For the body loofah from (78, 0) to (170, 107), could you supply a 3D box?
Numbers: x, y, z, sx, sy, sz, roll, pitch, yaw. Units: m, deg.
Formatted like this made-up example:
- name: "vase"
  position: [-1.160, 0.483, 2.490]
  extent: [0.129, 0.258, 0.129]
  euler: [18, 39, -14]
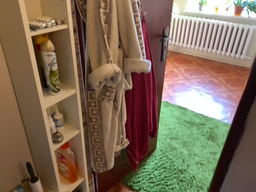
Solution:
- name: "body loofah"
  position: [0.010, -0.390, 0.940]
  extent: [0.260, 0.730, 0.410]
  euler: [13, 33, 19]
